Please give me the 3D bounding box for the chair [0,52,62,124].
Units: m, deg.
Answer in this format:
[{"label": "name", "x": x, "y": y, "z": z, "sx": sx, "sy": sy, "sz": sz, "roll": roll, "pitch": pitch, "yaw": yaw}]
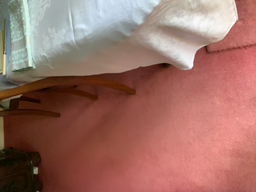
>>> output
[{"label": "chair", "x": -1.120, "y": -0.090, "z": 1.700, "sx": 0.460, "sy": 0.990, "sz": 0.540, "roll": 12, "pitch": 98, "yaw": 38}]
